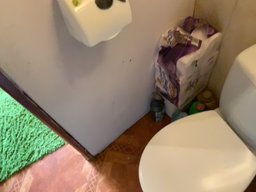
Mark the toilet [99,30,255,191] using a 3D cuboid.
[{"bbox_3d":[0.310,0.240,0.910,0.610,0.750,0.370,-30,62,-10],"label":"toilet"}]
